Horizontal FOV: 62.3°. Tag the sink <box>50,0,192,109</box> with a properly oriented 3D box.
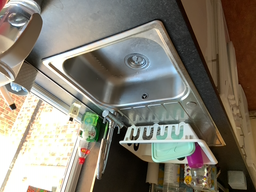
[{"bbox_3d":[-0.010,-0.130,0.890,0.450,0.170,0.360,-9,144,30],"label":"sink"}]
